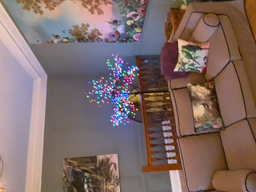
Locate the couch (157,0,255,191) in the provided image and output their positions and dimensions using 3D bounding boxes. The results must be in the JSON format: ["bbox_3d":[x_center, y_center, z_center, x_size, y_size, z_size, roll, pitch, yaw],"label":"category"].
[{"bbox_3d":[1.000,0.140,2.570,1.060,0.790,2.340,103,163,-70],"label":"couch"}]
